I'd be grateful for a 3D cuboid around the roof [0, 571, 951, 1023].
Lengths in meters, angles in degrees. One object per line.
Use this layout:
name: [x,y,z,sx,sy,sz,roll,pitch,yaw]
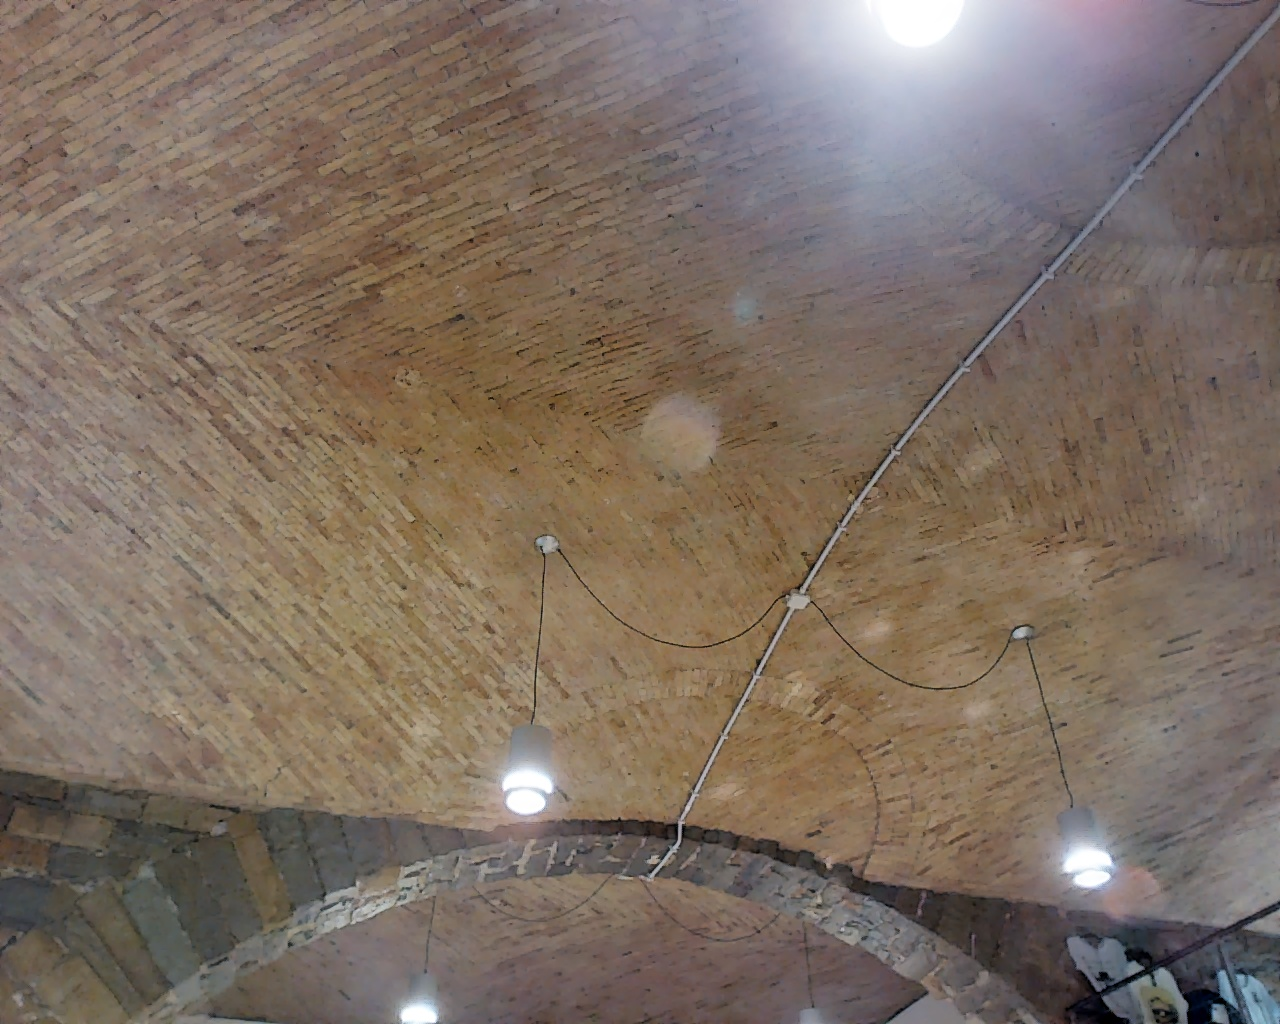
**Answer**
roof: [-2.039,3.291,9.060,6.548,0.790,6.651,12,-42,-12]
